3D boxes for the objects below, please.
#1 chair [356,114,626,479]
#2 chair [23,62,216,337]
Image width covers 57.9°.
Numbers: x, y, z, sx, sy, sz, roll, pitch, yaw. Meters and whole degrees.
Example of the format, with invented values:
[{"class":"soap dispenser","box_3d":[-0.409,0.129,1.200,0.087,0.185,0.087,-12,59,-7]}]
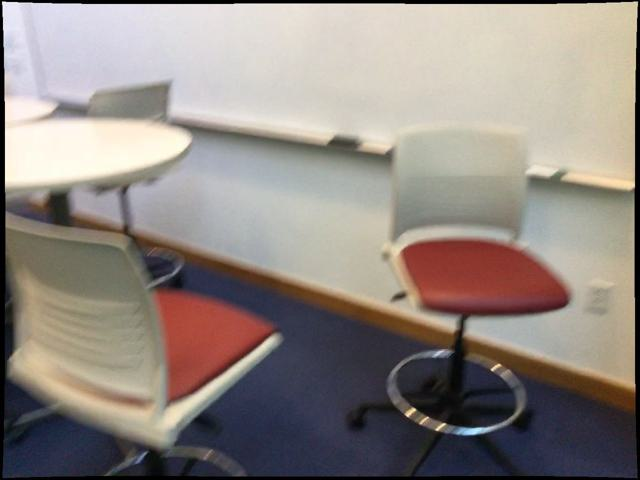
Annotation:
[{"class":"chair","box_3d":[0.450,0.200,1.890,0.539,1.091,0.610,-2,24,-5]},{"class":"chair","box_3d":[-0.909,-0.220,2.760,0.510,1.131,0.530,15,28,31]}]
